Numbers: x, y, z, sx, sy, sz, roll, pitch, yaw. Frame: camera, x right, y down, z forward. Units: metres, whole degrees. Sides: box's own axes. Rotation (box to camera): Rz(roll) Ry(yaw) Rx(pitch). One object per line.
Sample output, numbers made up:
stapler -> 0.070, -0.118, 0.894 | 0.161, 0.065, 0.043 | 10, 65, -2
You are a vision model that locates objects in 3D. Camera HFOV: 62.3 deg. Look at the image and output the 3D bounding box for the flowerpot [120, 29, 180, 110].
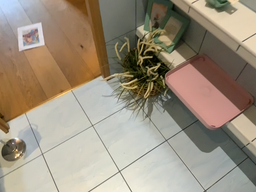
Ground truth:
flowerpot -> 0.120, -0.160, 1.350 | 0.200, 0.360, 0.310 | -28, 62, -15
